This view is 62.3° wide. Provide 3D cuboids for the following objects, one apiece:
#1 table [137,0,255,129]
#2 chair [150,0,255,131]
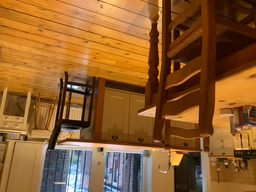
[{"bbox_3d":[0.740,-0.270,1.430,0.910,0.780,1.190,9,162,-21],"label":"table"},{"bbox_3d":[0.500,-0.270,1.300,0.540,0.870,0.460,12,162,-27],"label":"chair"}]
